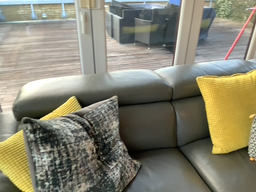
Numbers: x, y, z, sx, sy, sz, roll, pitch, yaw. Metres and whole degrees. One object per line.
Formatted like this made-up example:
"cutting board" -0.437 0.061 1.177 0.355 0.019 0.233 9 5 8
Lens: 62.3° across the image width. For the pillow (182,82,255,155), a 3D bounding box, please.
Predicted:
"pillow" 0.660 0.130 1.290 0.510 0.420 0.180 -8 53 -18
